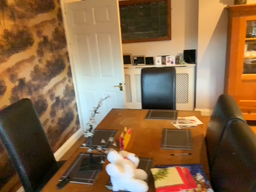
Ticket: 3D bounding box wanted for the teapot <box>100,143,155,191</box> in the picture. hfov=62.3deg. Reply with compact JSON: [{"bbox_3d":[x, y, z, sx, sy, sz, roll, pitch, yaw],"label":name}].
[{"bbox_3d":[0.010,0.400,1.160,0.240,0.160,0.250,1,20,13],"label":"teapot"}]
